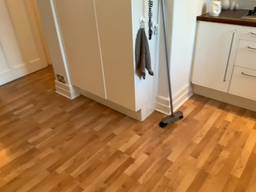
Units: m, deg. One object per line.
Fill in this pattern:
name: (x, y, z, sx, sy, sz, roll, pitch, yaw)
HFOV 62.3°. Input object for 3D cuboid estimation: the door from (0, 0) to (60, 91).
door: (-1.590, -1.260, 2.770, 0.160, 2.250, 0.970, 23, 40, 36)
